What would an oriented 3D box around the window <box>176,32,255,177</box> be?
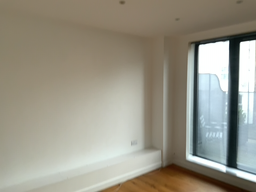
[{"bbox_3d":[2.050,0.140,2.920,0.270,2.060,3.210,-3,5,-38],"label":"window"}]
